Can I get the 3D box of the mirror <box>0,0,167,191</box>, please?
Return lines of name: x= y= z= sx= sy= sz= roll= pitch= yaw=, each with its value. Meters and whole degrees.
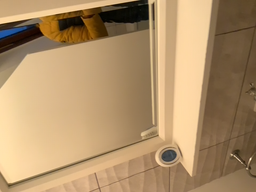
mirror: x=-0.160 y=0.030 z=0.580 sx=0.030 sy=0.580 sz=0.550 roll=-125 pitch=23 yaw=-53
